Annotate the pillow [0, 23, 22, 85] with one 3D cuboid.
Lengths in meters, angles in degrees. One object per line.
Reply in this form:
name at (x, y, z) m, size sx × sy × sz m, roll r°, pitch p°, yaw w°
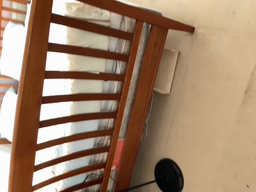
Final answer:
pillow at (-1.430, -0.520, 2.570) m, size 0.430 × 0.140 × 0.670 m, roll 26°, pitch 111°, yaw 48°
